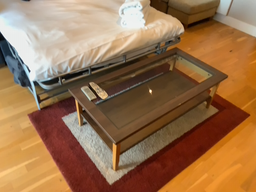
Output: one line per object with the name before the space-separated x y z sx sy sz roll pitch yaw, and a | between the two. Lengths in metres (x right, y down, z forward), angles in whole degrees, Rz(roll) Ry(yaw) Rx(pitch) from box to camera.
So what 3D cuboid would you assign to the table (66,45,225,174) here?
table | 0.170 0.020 1.830 1.170 0.410 0.600 -26 50 -30
